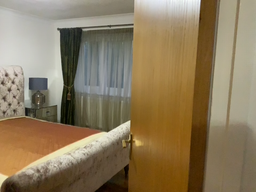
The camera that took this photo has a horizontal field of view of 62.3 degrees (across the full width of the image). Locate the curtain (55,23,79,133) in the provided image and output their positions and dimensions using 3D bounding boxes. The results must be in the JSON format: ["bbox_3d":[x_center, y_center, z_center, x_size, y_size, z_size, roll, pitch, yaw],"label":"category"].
[{"bbox_3d":[-1.260,-0.350,4.420,0.480,2.180,0.190,6,9,30],"label":"curtain"}]

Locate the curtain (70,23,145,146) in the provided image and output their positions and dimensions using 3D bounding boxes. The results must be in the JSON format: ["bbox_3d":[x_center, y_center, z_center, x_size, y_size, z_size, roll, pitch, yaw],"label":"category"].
[{"bbox_3d":[-0.450,-0.230,3.950,1.480,2.040,0.230,6,9,29],"label":"curtain"}]
